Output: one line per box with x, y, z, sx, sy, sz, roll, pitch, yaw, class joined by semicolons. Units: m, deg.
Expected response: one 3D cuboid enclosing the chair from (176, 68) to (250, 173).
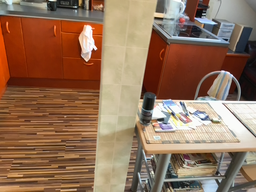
0.710;0.210;1.860;0.340;0.740;0.420;17;32;14;chair
